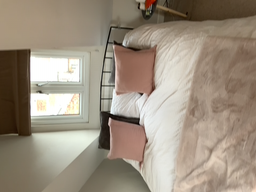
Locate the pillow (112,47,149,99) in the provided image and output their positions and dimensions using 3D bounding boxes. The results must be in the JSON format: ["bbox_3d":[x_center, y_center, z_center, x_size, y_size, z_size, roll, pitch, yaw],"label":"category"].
[{"bbox_3d":[0.030,-0.240,2.060,0.160,0.390,0.430,14,111,27],"label":"pillow"}]

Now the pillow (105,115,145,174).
[{"bbox_3d":[-0.030,0.500,2.270,0.190,0.390,0.470,19,113,36],"label":"pillow"}]

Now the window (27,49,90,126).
[{"bbox_3d":[-0.900,-0.090,2.790,0.120,0.730,0.980,-134,47,-65],"label":"window"}]
